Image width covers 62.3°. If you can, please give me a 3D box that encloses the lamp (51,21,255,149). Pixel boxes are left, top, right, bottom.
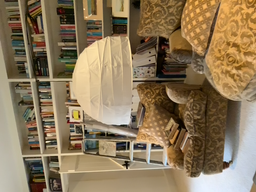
[{"bbox_3d":[0.270,-0.110,1.740,0.700,1.500,0.730,-99,10,-52],"label":"lamp"}]

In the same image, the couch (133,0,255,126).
[{"bbox_3d":[0.580,-0.700,1.850,1.710,0.810,0.960,-99,10,-53],"label":"couch"}]

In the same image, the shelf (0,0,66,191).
[{"bbox_3d":[-1.340,-0.400,2.850,0.370,0.590,4.300,-105,16,-67],"label":"shelf"}]

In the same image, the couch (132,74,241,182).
[{"bbox_3d":[0.530,0.250,2.440,1.070,0.810,0.890,-117,27,-76],"label":"couch"}]
